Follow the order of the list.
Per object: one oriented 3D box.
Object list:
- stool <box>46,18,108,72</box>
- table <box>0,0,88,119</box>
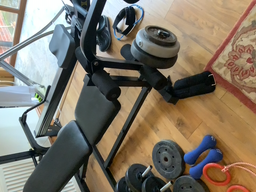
[{"bbox_3d":[-0.440,-0.420,1.800,0.330,0.350,0.280,49,126,34],"label":"stool"},{"bbox_3d":[-1.130,-0.470,2.100,0.470,0.950,1.460,50,126,33],"label":"table"}]
